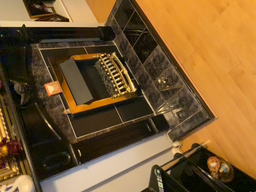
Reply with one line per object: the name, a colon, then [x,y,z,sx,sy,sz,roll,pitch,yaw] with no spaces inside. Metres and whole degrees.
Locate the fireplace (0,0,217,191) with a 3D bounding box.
fireplace: [-0.270,-0.170,1.600,1.420,1.170,0.580,61,141,19]
